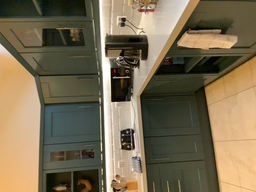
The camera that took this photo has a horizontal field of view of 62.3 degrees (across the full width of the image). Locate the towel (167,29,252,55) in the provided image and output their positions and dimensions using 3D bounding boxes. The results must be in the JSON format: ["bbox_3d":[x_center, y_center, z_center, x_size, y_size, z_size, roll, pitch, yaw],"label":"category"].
[{"bbox_3d":[0.490,-0.330,1.310,0.180,0.450,0.080,117,150,-75],"label":"towel"}]
